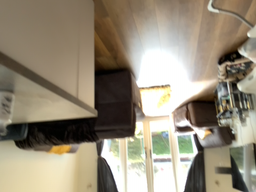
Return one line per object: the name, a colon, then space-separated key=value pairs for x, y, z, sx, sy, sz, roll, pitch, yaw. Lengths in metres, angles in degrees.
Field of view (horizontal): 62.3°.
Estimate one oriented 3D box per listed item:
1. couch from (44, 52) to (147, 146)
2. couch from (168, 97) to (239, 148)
couch: x=-0.340 y=0.150 z=2.900 sx=1.010 sy=0.940 sz=1.090 roll=-6 pitch=163 yaw=10
couch: x=1.630 y=0.660 z=4.870 sx=0.970 sy=0.960 sz=1.140 roll=1 pitch=163 yaw=-12
